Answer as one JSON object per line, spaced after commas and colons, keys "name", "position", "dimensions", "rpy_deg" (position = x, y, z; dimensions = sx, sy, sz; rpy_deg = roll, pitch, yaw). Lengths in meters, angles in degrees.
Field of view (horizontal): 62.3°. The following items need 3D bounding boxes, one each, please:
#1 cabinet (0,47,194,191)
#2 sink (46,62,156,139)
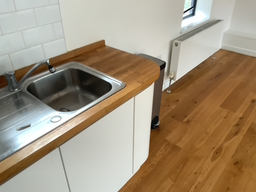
{"name": "cabinet", "position": [-0.400, 0.490, 1.270], "dimensions": [0.610, 0.920, 1.940], "rpy_deg": [23, 41, 37]}
{"name": "sink", "position": [-0.170, -0.020, 1.380], "dimensions": [0.510, 0.150, 0.480], "rpy_deg": [23, 41, 37]}
